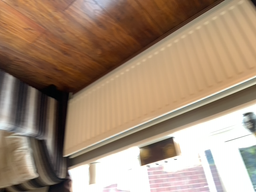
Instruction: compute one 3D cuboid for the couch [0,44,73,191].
[{"bbox_3d":[-1.030,0.240,1.650,0.770,0.830,0.860,-21,146,23],"label":"couch"}]
